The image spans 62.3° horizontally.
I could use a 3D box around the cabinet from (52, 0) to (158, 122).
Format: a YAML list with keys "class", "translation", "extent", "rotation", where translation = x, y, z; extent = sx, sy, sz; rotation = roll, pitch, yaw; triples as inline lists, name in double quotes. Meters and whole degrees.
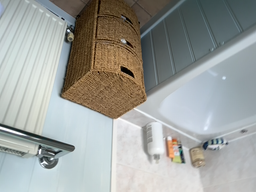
- class: "cabinet"
  translation: [-0.110, -0.230, 1.100]
  extent: [0.330, 0.570, 0.330]
  rotation: [-31, 136, 34]
